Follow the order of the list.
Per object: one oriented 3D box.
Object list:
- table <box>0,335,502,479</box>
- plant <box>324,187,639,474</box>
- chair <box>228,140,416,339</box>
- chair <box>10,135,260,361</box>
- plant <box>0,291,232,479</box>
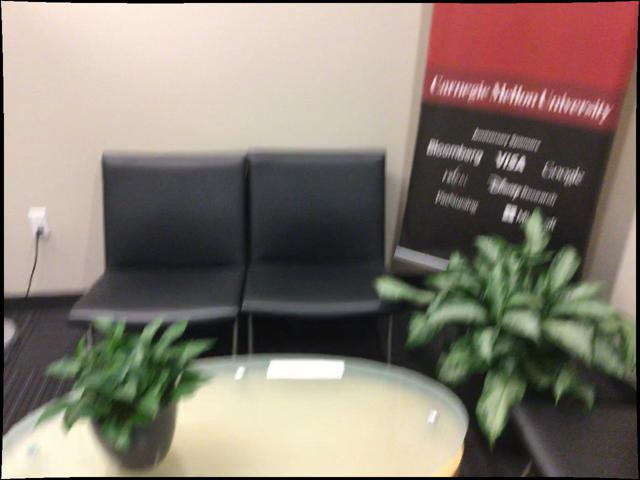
[{"bbox_3d":[-0.200,0.581,1.470,1.167,0.301,0.610,-3,27,-1],"label":"table"},{"bbox_3d":[0.539,0.211,1.830,0.998,0.411,0.870,-3,27,-1],"label":"plant"},{"bbox_3d":[0.000,-0.040,2.230,0.589,0.471,0.710,-3,27,-1],"label":"chair"},{"bbox_3d":[-0.599,-0.010,2.180,0.668,0.541,0.730,-3,27,-1],"label":"chair"},{"bbox_3d":[-0.429,0.361,1.310,0.389,0.311,0.380,-3,27,-1],"label":"plant"}]
